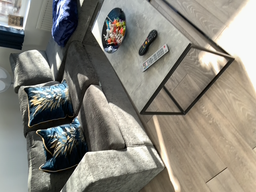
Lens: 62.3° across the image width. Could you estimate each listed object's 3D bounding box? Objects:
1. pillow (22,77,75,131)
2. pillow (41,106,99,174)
[{"bbox_3d":[-0.840,0.060,2.210,0.490,0.430,0.220,61,146,37],"label":"pillow"},{"bbox_3d":[-0.540,0.380,1.910,0.320,0.330,0.470,-57,45,32],"label":"pillow"}]
